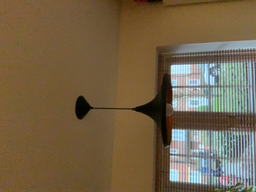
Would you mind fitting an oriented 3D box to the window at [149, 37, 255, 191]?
[{"bbox_3d":[0.780,0.130,1.580,0.100,1.210,1.130,27,-116,-73],"label":"window"}]
